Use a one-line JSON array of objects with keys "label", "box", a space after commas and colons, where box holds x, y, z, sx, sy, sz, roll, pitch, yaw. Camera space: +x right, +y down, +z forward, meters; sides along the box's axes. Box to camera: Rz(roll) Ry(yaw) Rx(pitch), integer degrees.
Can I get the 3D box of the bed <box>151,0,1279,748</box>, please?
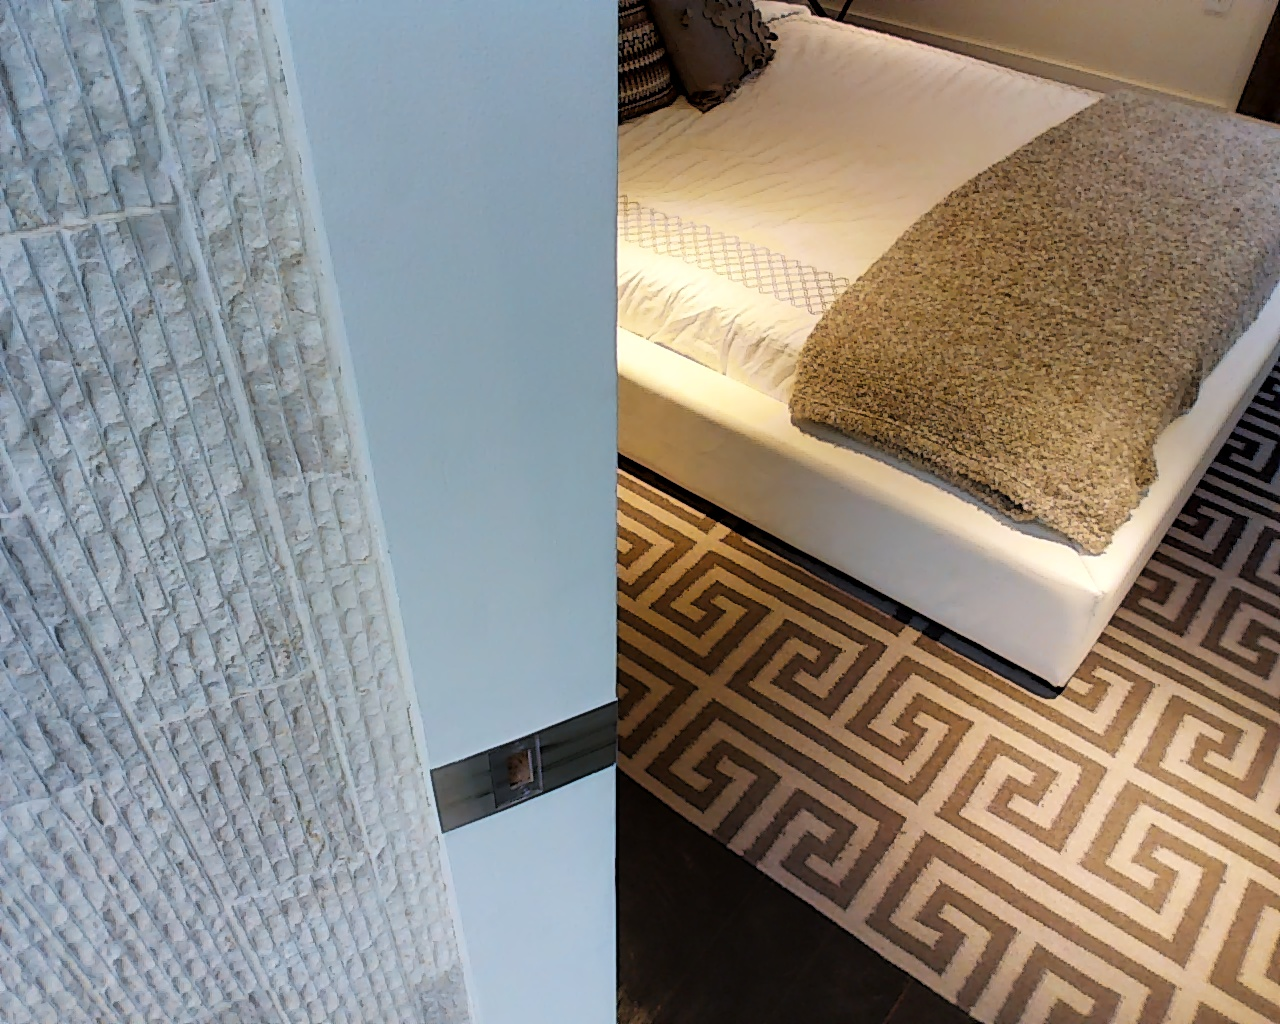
[{"label": "bed", "box": [0.420, -0.930, 2.660, 2.370, 0.920, 1.910, 28, 49, 26]}]
